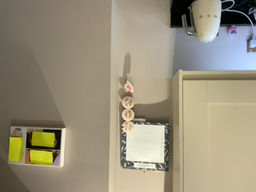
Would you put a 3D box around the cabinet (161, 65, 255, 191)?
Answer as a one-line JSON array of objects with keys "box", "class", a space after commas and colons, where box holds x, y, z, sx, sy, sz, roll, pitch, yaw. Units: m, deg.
[{"box": [0.770, 0.310, 1.130, 1.150, 0.890, 0.370, 0, 177, 5], "class": "cabinet"}]
